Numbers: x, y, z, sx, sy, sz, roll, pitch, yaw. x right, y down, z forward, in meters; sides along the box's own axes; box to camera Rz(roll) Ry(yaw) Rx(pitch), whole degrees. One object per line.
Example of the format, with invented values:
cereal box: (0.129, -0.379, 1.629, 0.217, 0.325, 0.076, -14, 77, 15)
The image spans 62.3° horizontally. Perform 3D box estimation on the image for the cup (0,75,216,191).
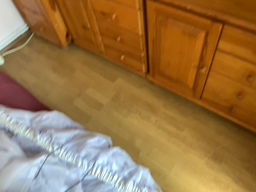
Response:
cup: (-0.450, 0.280, 0.990, 1.490, 0.290, 0.550, 17, 61, 17)
